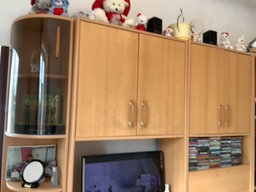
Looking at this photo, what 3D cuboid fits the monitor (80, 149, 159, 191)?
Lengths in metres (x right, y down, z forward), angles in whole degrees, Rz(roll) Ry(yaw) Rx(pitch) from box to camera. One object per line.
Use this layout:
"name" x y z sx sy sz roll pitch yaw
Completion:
"monitor" -0.040 0.670 1.560 0.590 0.460 0.050 -3 -1 -26
